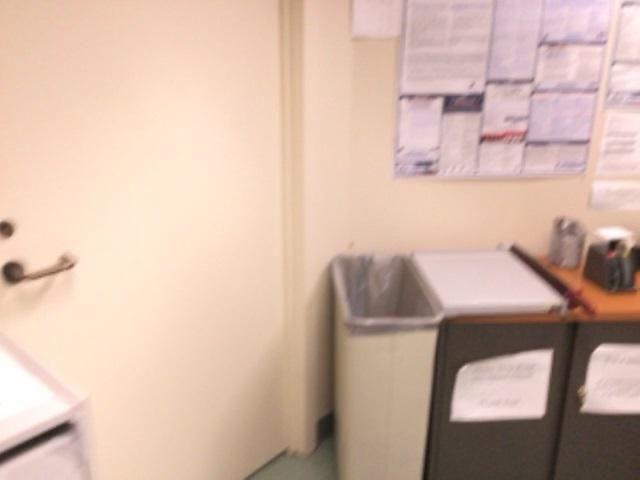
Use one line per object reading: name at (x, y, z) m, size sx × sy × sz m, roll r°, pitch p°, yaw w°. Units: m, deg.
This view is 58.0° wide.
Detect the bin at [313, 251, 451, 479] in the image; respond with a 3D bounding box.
bin at (0.170, 0.480, 1.830) m, size 0.340 × 0.740 × 0.530 m, roll -3°, pitch 19°, yaw -1°
